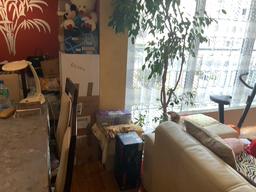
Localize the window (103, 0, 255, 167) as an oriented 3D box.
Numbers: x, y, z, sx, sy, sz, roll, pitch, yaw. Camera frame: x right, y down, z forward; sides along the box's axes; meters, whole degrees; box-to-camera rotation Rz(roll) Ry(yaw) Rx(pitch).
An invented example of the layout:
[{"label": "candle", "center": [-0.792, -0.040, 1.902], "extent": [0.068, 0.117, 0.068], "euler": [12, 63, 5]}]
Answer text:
[{"label": "window", "center": [1.540, -0.510, 2.880], "extent": [3.730, 2.510, 0.260], "euler": [-4, 21, -21]}]
